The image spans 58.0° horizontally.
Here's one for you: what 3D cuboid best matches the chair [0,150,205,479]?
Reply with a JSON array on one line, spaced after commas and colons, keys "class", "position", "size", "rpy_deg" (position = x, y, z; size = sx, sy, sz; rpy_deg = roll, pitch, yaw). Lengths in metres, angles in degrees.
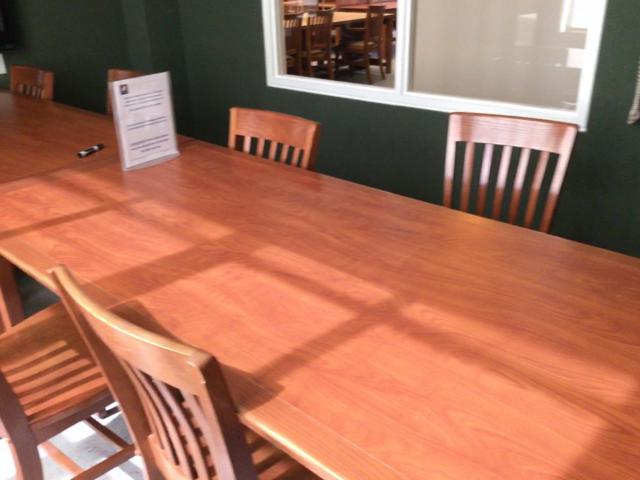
[{"class": "chair", "position": [-0.740, 0.310, 1.470], "size": [0.530, 0.880, 0.590], "rpy_deg": [19, 32, 36]}]
